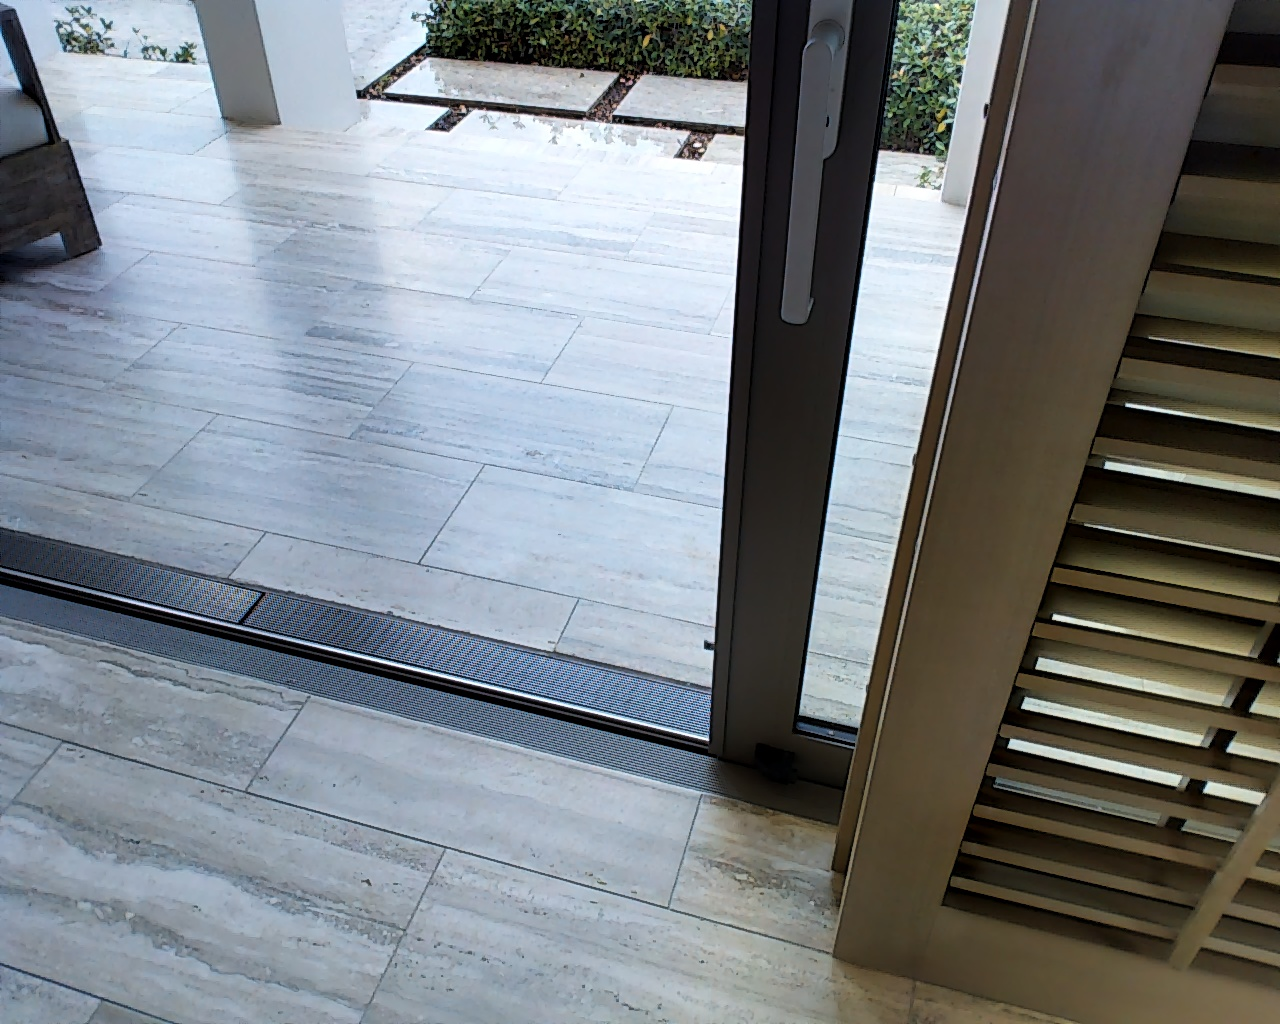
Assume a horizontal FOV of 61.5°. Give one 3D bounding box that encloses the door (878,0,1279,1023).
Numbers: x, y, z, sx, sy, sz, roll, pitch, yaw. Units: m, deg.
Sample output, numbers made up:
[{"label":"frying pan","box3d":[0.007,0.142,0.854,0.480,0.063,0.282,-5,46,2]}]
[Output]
[{"label":"door","box3d":[0.910,-0.290,0.450,1.260,2.410,0.180,10,42,12]}]
